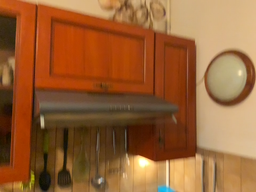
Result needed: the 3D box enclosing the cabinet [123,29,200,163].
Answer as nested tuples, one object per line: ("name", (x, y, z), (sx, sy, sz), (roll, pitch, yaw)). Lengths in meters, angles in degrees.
("cabinet", (0.210, 0.010, 1.370), (0.350, 0.720, 0.340), (3, -4, -30))
